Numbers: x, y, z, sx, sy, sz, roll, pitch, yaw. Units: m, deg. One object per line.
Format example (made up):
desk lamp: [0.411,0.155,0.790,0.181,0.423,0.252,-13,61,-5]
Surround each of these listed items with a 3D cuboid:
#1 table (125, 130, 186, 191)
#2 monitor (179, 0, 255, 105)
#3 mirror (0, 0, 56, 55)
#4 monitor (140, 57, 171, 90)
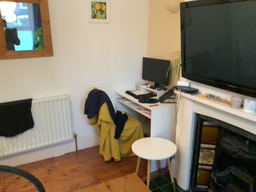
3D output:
table: [0.270,0.710,2.230,0.450,0.480,0.420,-9,19,-27]
monitor: [0.720,-0.330,1.420,0.040,0.670,0.980,-15,28,-26]
mirror: [-1.120,-0.790,2.340,0.540,0.630,0.100,-9,19,-28]
monitor: [0.360,-0.320,2.880,0.050,0.380,0.550,-8,16,-33]
